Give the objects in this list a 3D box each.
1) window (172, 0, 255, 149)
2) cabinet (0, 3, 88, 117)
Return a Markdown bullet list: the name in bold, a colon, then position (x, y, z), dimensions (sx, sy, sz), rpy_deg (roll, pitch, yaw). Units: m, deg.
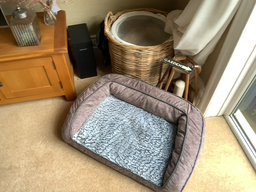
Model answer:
- **window**: position (0.510, -0.730, 0.450), dimensions (0.220, 2.630, 0.530), rpy_deg (-5, 51, -6)
- **cabinet**: position (-1.210, -0.180, 1.400), dimensions (1.780, 0.500, 0.540), rpy_deg (-8, 51, -8)
